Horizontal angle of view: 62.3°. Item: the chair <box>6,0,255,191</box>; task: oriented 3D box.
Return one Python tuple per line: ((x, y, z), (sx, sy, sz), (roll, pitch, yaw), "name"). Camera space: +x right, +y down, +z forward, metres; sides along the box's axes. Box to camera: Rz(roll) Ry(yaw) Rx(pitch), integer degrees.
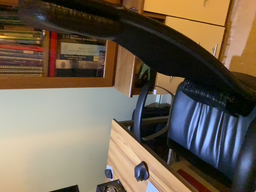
((0.260, 0.050, 0.890), (0.670, 1.290, 0.670), (25, 114, 55), "chair")
